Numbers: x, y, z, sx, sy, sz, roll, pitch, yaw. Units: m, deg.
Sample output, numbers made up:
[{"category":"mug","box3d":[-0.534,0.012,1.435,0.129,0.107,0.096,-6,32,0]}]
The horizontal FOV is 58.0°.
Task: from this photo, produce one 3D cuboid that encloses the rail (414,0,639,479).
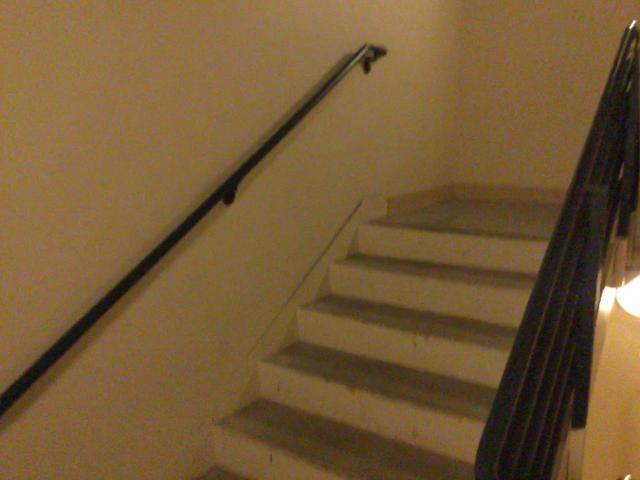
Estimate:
[{"category":"rail","box3d":[0.790,0.760,1.730,0.280,2.840,1.780,4,17,30]}]
